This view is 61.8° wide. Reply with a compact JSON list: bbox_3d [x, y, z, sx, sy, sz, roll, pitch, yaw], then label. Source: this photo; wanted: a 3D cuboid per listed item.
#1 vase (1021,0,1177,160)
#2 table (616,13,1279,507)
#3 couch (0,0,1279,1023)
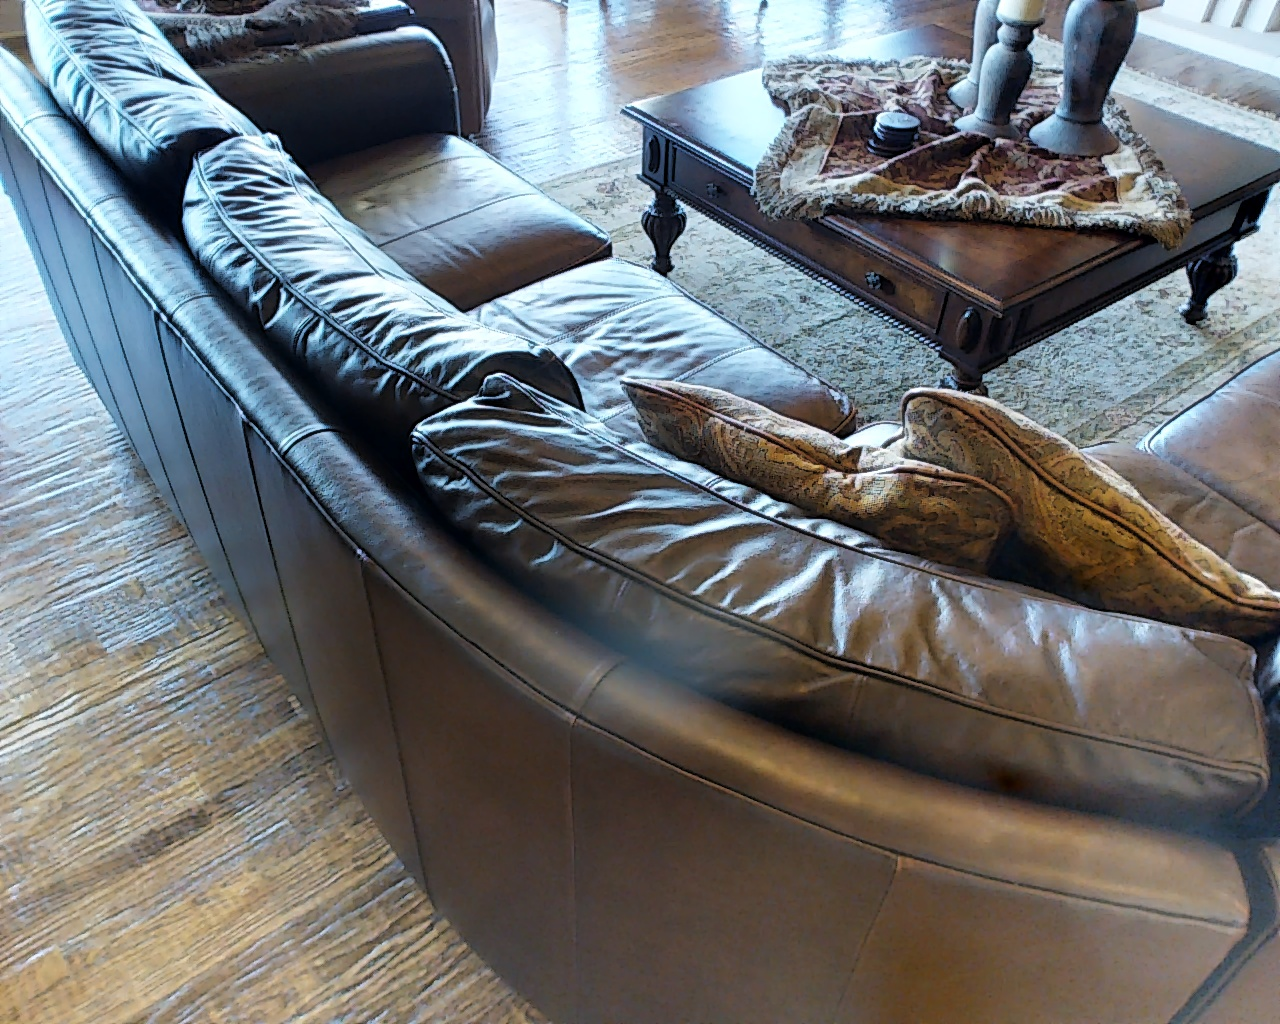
[{"bbox_3d":[1.090,-1.140,2.480,0.160,0.560,0.200,-27,49,-29],"label":"vase"},{"bbox_3d":[0.810,-0.780,2.840,1.240,0.510,1.240,-27,49,-29],"label":"table"},{"bbox_3d":[0.670,-0.440,2.170,2.930,0.940,3.040,-27,49,-29],"label":"couch"}]
